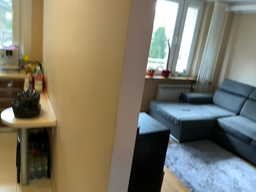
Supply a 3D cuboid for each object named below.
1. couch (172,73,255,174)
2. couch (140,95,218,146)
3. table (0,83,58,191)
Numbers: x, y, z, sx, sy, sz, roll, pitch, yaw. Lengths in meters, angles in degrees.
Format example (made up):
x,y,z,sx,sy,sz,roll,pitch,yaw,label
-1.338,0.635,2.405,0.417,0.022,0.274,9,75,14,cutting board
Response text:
x,y,z,sx,sy,sz,roll,pitch,yaw,label
2.060,0.430,3.520,1.000,0.960,3.070,1,17,-22,couch
0.880,0.400,4.040,0.800,0.440,1.300,1,17,-22,couch
-1.150,0.380,2.430,0.460,0.750,1.260,0,17,-26,table
